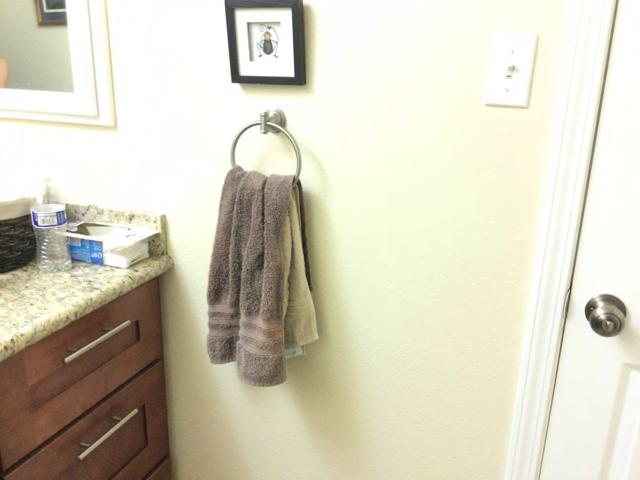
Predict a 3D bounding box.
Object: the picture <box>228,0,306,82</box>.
[{"bbox_3d":[-0.100,-0.370,1.080,0.150,0.140,0.020,5,12,21],"label":"picture"}]
